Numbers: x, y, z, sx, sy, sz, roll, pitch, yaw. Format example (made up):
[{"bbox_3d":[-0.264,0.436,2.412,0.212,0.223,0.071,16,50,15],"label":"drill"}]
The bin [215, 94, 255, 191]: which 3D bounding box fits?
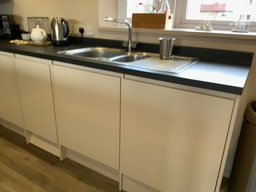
[{"bbox_3d":[0.840,0.410,1.400,0.350,0.730,0.330,14,25,30],"label":"bin"}]
